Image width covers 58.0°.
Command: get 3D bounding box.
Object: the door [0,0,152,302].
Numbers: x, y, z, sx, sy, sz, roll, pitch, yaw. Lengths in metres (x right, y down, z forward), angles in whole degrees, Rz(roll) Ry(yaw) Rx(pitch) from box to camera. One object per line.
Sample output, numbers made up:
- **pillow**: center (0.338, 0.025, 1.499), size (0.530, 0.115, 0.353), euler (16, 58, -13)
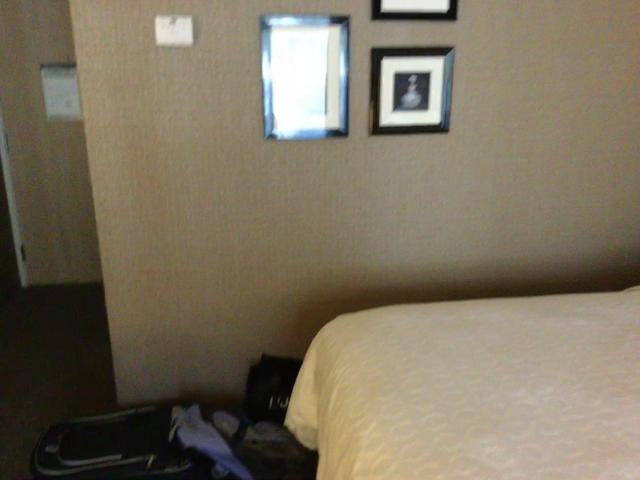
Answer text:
- **door**: center (-1.670, -0.670, 3.730), size (1.010, 2.110, 0.300), euler (-1, 11, -7)
